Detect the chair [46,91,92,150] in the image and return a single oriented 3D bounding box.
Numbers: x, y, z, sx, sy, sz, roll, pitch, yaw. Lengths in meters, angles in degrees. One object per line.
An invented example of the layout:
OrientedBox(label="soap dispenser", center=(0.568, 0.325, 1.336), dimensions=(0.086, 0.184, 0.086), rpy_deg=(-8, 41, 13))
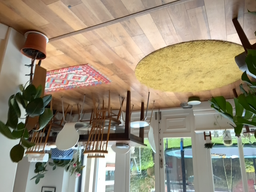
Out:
OrientedBox(label="chair", center=(-0.950, 0.430, 3.530), dimensions=(0.440, 0.860, 0.500), rpy_deg=(-6, 160, 21))
